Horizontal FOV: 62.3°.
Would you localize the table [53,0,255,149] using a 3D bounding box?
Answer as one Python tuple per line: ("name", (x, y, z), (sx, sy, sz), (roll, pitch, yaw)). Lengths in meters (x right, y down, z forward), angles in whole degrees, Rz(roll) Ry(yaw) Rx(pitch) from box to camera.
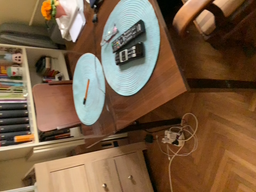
("table", (0.100, -0.370, 1.300), (0.780, 0.730, 1.100), (-36, 63, 47))
